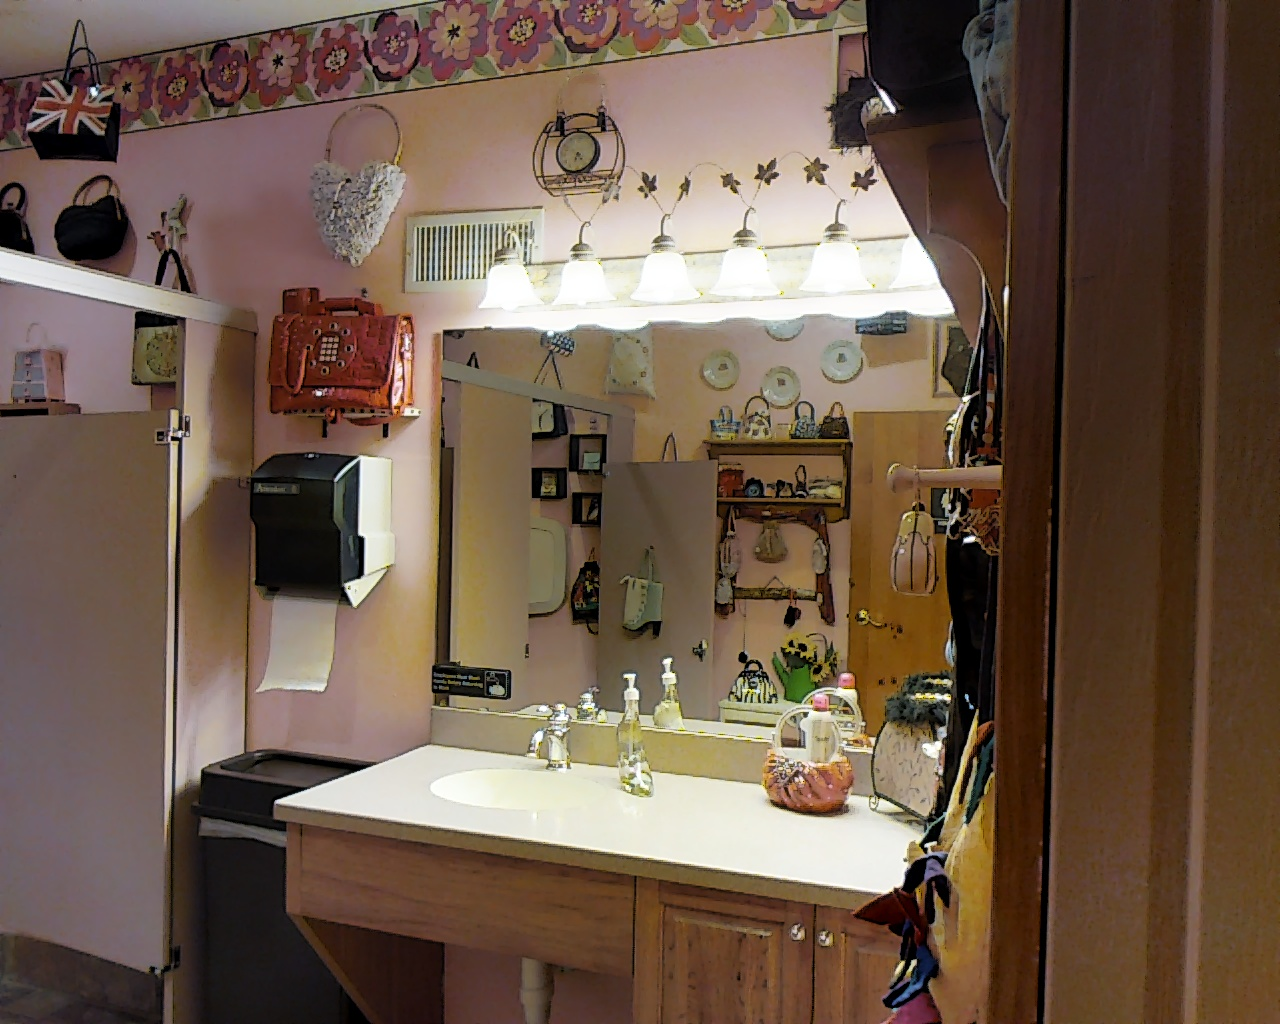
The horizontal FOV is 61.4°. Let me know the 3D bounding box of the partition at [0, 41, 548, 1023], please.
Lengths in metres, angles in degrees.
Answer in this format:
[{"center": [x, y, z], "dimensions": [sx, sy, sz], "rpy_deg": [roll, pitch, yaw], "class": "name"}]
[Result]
[{"center": [-1.280, 0.370, 2.480], "dimensions": [1.530, 2.030, 1.600], "rpy_deg": [1, 0, 22], "class": "partition"}]
